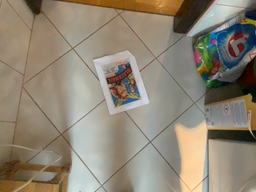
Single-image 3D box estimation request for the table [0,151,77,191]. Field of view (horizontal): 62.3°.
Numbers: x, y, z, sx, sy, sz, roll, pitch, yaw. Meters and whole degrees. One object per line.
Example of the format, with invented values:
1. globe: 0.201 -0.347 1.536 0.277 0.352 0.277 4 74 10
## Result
1. table: -0.380 0.390 0.730 0.310 0.460 0.320 6 81 -6
